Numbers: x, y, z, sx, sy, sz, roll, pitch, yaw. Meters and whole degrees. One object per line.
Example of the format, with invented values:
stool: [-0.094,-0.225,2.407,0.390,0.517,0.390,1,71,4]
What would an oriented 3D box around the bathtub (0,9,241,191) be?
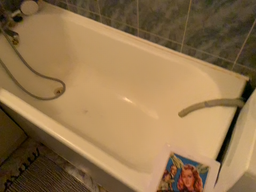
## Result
bathtub: [-0.220,0.070,1.300,1.390,0.600,0.660,23,58,19]
